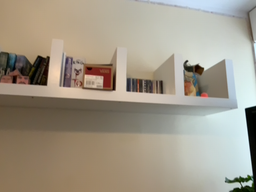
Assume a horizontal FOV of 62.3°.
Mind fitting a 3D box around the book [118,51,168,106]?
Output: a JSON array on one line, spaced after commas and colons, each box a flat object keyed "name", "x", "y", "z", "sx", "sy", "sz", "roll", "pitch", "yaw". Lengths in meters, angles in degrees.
[{"name": "book", "x": 0.080, "y": -0.090, "z": 1.260, "sx": 0.240, "sy": 0.260, "sz": 0.200, "roll": 4, "pitch": -14, "yaw": -14}]

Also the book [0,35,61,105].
[{"name": "book", "x": -0.520, "y": -0.120, "z": 1.100, "sx": 0.300, "sy": 0.280, "sz": 0.220, "roll": 4, "pitch": -14, "yaw": -14}]
